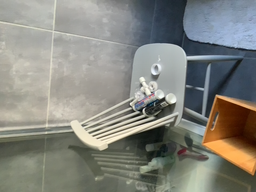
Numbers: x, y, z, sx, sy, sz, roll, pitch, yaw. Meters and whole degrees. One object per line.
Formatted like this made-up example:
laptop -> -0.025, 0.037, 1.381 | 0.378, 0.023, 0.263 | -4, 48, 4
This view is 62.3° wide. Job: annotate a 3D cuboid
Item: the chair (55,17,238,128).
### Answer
chair -> 0.120, -0.090, 1.120 | 0.420, 0.850, 0.370 | 17, 101, 54
